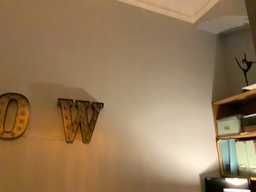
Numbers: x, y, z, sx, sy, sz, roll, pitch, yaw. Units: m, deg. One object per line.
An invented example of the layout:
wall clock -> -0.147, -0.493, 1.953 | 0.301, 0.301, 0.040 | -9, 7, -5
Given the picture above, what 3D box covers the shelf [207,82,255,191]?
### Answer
shelf -> 1.230, 0.500, 1.920 | 0.370, 1.160, 0.860 | 7, -18, -20
